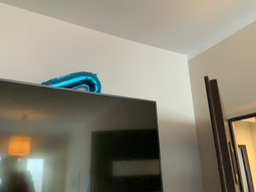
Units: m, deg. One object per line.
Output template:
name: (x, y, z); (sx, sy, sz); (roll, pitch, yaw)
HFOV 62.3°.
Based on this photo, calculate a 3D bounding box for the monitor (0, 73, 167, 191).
monitor: (-0.220, 0.230, 1.120); (1.000, 0.560, 0.060); (9, -21, -29)
